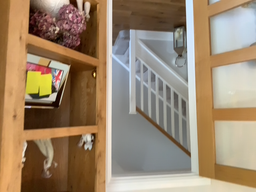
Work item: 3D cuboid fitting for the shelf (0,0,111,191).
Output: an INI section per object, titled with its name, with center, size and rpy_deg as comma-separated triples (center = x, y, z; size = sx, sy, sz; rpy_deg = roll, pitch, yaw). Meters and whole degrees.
[shelf]
center = -0.520, 0.020, 1.260
size = 0.510, 1.310, 0.720
rpy_deg = -3, 174, 30
